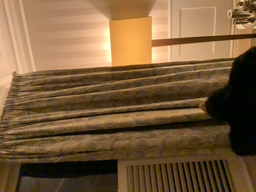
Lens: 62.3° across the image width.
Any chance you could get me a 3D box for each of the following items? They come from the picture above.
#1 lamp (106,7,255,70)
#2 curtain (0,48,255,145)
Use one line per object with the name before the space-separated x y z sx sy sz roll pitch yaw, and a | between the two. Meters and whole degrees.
lamp | 0.680 -0.680 2.550 0.560 1.790 0.550 -96 2 -77
curtain | 0.160 -0.040 1.960 0.170 3.000 0.790 87 179 -52
